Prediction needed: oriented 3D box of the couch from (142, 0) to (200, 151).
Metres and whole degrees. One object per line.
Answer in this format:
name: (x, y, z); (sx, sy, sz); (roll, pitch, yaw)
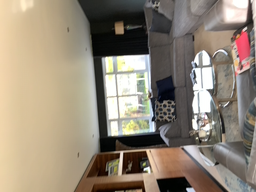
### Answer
couch: (0.840, -0.650, 4.530); (1.200, 0.790, 3.290); (-110, 16, -88)

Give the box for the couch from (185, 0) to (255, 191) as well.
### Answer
couch: (0.920, -0.050, 1.300); (1.090, 0.760, 1.240); (180, 86, -89)
